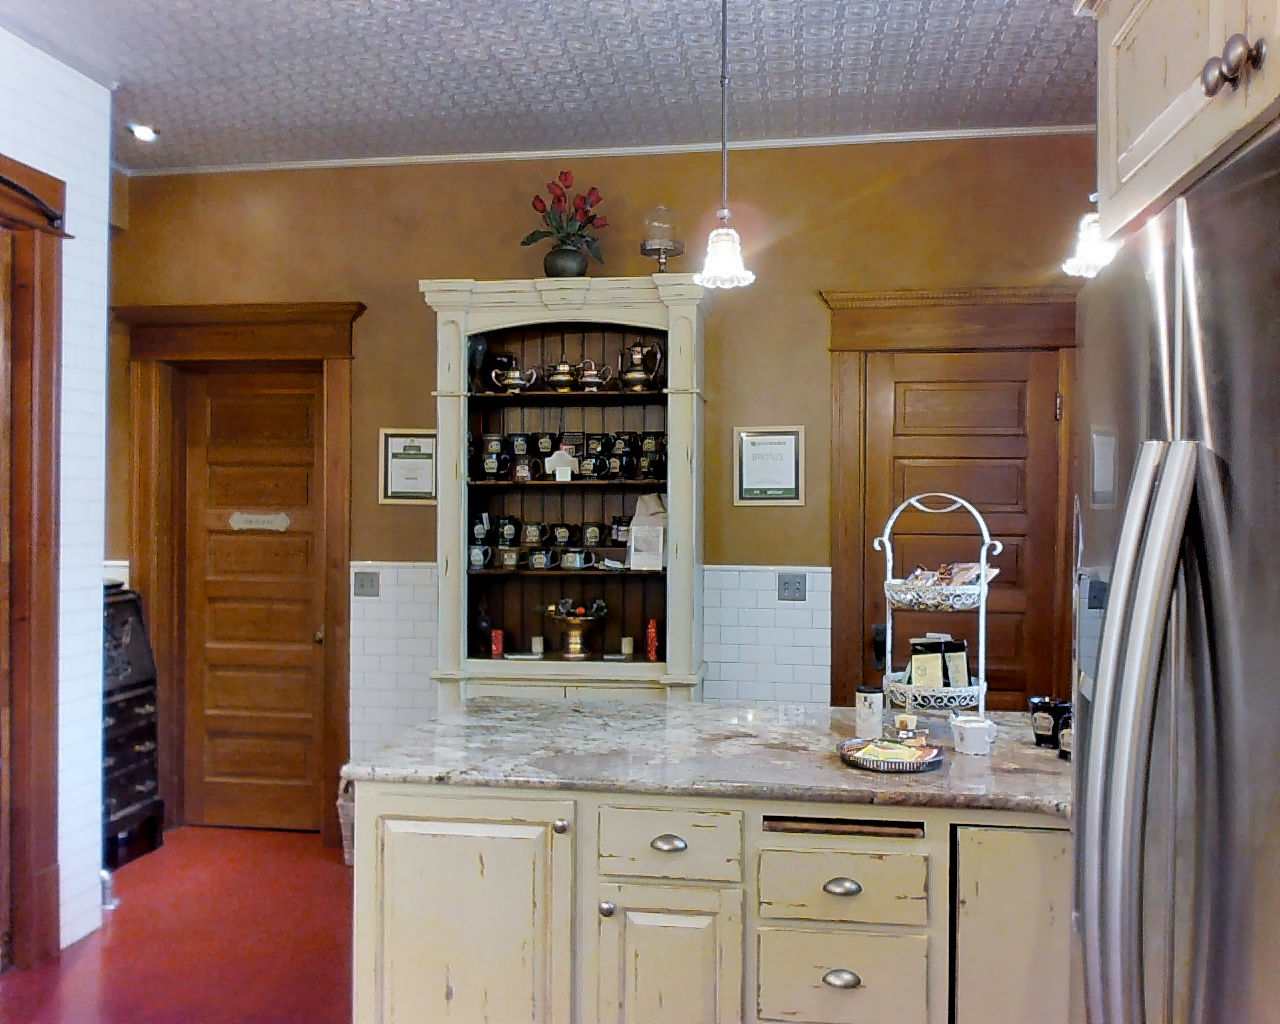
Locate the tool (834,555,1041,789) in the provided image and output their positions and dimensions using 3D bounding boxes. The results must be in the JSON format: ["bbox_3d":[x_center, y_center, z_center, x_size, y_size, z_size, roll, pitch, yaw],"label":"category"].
[{"bbox_3d":[0.710,0.360,2.700,0.430,0.470,0.680,1,0,10],"label":"tool"}]
